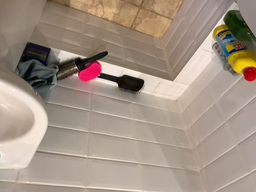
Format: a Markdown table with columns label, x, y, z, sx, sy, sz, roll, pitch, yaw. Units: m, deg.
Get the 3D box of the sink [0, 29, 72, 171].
| label | x | y | z | sx | sy | sz | roll | pitch | yaw |
| --- | --- | --- | --- | --- | --- | --- | --- | --- | --- |
| sink | -0.410 | 0.010 | 0.500 | 0.460 | 0.160 | 0.350 | 13 | 135 | -21 |
